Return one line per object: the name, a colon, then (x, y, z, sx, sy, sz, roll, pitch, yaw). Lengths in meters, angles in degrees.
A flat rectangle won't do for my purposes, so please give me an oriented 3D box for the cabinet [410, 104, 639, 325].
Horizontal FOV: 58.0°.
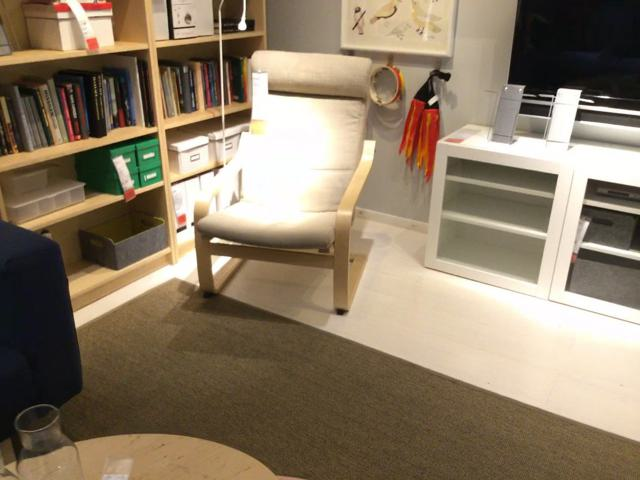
cabinet: (1.350, -0.100, 2.400, 1.860, 0.740, 0.510, 12, 25, 31)
